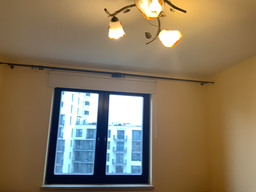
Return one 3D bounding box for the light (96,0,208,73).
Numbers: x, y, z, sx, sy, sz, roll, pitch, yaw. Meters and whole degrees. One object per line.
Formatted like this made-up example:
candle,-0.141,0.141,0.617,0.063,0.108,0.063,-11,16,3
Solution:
light,0.180,-0.580,1.700,0.250,0.810,0.670,129,143,-74
